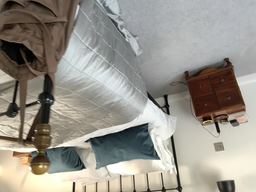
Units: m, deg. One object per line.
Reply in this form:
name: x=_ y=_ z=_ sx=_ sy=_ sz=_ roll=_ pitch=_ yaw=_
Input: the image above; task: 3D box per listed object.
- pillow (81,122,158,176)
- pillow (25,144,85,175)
pillow: x=-0.070 y=0.460 z=1.860 sx=0.580 sy=0.300 sz=0.180 roll=-17 pitch=-179 yaw=13
pillow: x=-0.770 y=0.670 z=2.210 sx=0.610 sy=0.270 sz=0.120 roll=-10 pitch=-165 yaw=25
